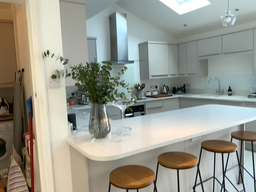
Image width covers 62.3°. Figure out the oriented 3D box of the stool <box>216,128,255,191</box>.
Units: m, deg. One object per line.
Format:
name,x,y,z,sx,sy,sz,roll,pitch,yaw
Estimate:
stool,1.320,0.780,2.460,0.420,0.680,0.390,-6,7,-35
